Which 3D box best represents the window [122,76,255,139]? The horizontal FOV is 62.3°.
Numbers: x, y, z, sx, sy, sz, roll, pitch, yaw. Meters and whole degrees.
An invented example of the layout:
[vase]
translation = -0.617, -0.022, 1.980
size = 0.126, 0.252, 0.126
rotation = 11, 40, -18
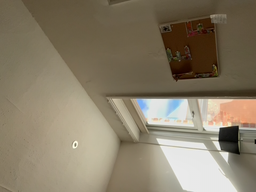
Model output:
[window]
translation = 0.960, 0.170, 2.710
size = 0.840, 1.910, 0.250
rotation = 64, -145, -41
